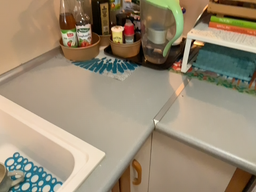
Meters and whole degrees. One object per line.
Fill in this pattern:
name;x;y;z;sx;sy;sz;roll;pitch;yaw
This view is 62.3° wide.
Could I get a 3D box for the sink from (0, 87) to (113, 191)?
sink;-0.380;0.230;0.590;0.520;0.190;0.420;21;43;25
